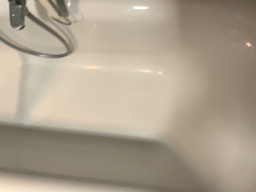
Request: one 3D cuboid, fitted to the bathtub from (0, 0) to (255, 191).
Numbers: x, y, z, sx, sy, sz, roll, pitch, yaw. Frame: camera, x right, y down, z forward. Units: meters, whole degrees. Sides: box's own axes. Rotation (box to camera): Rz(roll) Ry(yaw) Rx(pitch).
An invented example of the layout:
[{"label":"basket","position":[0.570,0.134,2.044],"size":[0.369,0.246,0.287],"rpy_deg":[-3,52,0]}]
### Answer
[{"label":"bathtub","position":[-0.260,0.020,0.950],"size":[1.580,0.590,0.720],"rpy_deg":[5,87,4]}]
